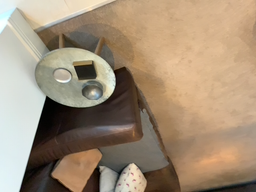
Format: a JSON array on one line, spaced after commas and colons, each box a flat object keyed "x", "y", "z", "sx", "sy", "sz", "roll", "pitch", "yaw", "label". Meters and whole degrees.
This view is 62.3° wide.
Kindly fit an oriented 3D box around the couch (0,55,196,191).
[{"x": -0.020, "y": 0.800, "z": 2.030, "sx": 1.140, "sy": 0.870, "sz": 1.970, "roll": -17, "pitch": 135, "yaw": 12, "label": "couch"}]

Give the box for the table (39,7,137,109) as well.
[{"x": -0.220, "y": -0.220, "z": 1.350, "sx": 0.400, "sy": 0.320, "sz": 0.440, "roll": -17, "pitch": 135, "yaw": 12, "label": "table"}]

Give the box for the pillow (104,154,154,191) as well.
[{"x": 0.050, "y": 0.860, "z": 1.920, "sx": 0.260, "sy": 0.540, "sz": 0.440, "roll": -18, "pitch": 169, "yaw": 14, "label": "pillow"}]
